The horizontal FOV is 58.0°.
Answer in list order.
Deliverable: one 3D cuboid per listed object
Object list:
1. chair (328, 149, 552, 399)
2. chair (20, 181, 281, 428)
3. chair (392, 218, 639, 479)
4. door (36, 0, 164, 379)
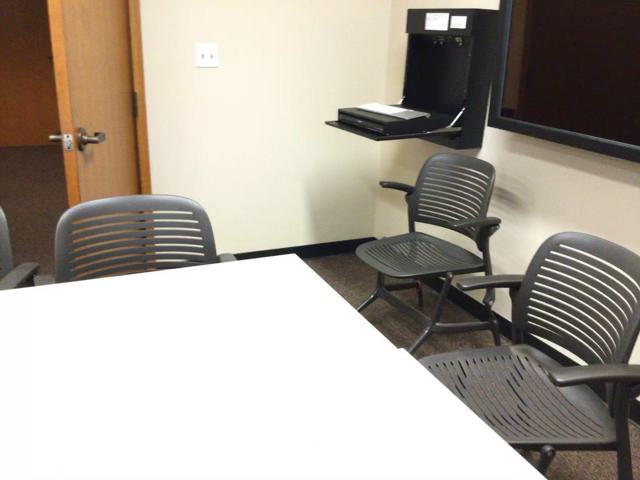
[{"bbox_3d":[0.470,0.100,2.510,0.620,0.880,0.570,-4,21,-23],"label":"chair"},{"bbox_3d":[-0.500,0.140,1.700,0.620,0.510,0.460,-4,21,-23],"label":"chair"},{"bbox_3d":[0.600,0.340,1.570,0.480,0.610,0.640,-4,21,-23],"label":"chair"},{"bbox_3d":[-0.840,-0.560,2.350,0.270,2.070,0.830,2,20,-8],"label":"door"}]
